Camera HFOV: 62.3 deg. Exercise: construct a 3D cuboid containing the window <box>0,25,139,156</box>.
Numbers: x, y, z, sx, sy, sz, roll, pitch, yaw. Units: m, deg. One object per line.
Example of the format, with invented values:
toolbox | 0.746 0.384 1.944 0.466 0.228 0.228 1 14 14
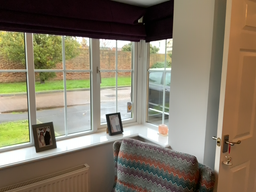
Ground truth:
window | -0.860 -0.040 1.710 2.410 0.990 0.060 -6 11 -37
